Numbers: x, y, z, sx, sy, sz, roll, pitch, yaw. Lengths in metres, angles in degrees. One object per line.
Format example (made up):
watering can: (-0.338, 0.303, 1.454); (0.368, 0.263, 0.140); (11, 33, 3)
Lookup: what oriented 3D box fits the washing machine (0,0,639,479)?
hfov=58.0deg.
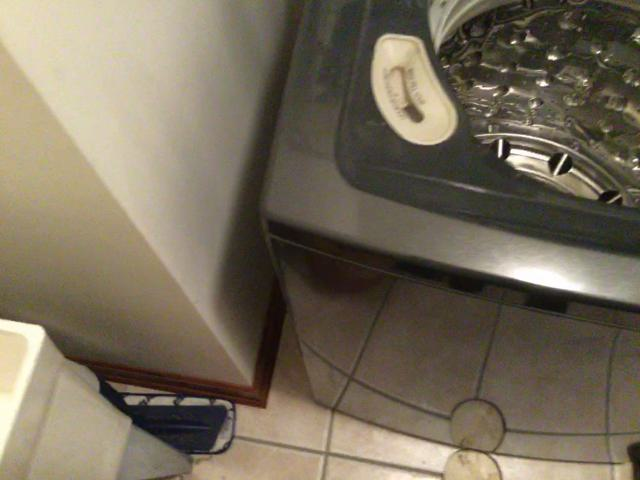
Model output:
washing machine: (0.290, -0.200, 0.820); (0.680, 1.340, 0.890); (7, 65, 6)
